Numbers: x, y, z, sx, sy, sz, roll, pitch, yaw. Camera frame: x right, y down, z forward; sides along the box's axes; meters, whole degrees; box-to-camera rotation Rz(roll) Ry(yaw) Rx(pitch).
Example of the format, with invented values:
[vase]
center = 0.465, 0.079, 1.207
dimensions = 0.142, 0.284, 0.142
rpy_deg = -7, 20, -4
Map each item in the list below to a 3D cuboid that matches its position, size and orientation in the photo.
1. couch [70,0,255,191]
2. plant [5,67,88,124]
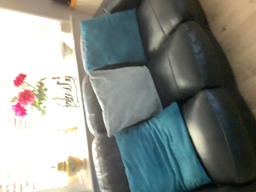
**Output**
[couch]
center = 0.180, -0.100, 1.660
dimensions = 0.980, 0.840, 2.020
rpy_deg = -46, 50, 50
[plant]
center = -0.850, 0.020, 2.190
dimensions = 0.440, 0.720, 0.420
rpy_deg = -36, 58, 54
